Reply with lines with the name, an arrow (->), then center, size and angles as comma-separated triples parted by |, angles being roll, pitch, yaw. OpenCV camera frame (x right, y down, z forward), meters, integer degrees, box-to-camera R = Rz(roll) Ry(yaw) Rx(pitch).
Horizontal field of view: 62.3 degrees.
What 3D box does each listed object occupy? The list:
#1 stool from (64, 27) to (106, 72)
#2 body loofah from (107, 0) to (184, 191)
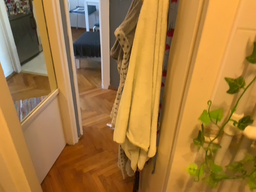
stool -> -0.620, -0.730, 3.250 | 0.470, 0.380, 0.800 | 2, 34, -1
body loofah -> 0.020, -0.050, 1.040 | 0.210, 1.040, 0.530 | 1, 34, -3
